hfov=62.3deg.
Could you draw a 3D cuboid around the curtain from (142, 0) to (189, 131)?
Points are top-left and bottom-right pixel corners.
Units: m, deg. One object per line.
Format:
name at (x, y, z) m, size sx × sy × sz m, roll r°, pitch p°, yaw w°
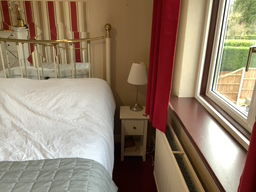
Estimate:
curtain at (0.250, -0.740, 1.390) m, size 0.170 × 1.930 × 0.470 m, roll 0°, pitch 20°, yaw -4°
